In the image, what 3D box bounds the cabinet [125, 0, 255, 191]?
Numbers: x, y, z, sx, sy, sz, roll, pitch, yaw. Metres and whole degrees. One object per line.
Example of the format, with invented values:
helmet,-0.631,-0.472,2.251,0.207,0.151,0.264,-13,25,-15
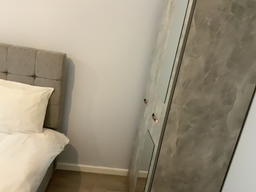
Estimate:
cabinet,0.430,0.130,1.750,0.540,1.890,0.810,9,15,-7
